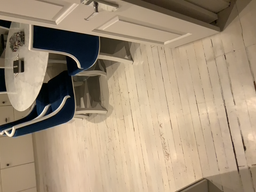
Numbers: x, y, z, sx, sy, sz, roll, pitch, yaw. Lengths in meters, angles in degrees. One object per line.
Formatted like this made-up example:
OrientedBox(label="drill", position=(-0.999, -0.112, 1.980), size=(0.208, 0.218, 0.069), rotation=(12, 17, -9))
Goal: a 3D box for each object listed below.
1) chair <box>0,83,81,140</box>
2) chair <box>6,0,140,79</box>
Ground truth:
OrientedBox(label="chair", position=(-1.110, 0.140, 2.650), size=(0.470, 0.910, 0.590), rotation=(3, 94, 49))
OrientedBox(label="chair", position=(-0.460, -0.460, 1.850), size=(0.590, 0.930, 0.470), rotation=(-15, 80, 49))
